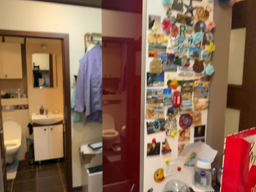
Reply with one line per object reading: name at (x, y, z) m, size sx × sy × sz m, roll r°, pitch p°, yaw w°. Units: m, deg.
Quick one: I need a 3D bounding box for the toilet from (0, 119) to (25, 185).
toilet at (-2.030, 0.910, 3.550) m, size 0.470 × 0.910 × 0.520 m, roll -2°, pitch 9°, yaw -22°
